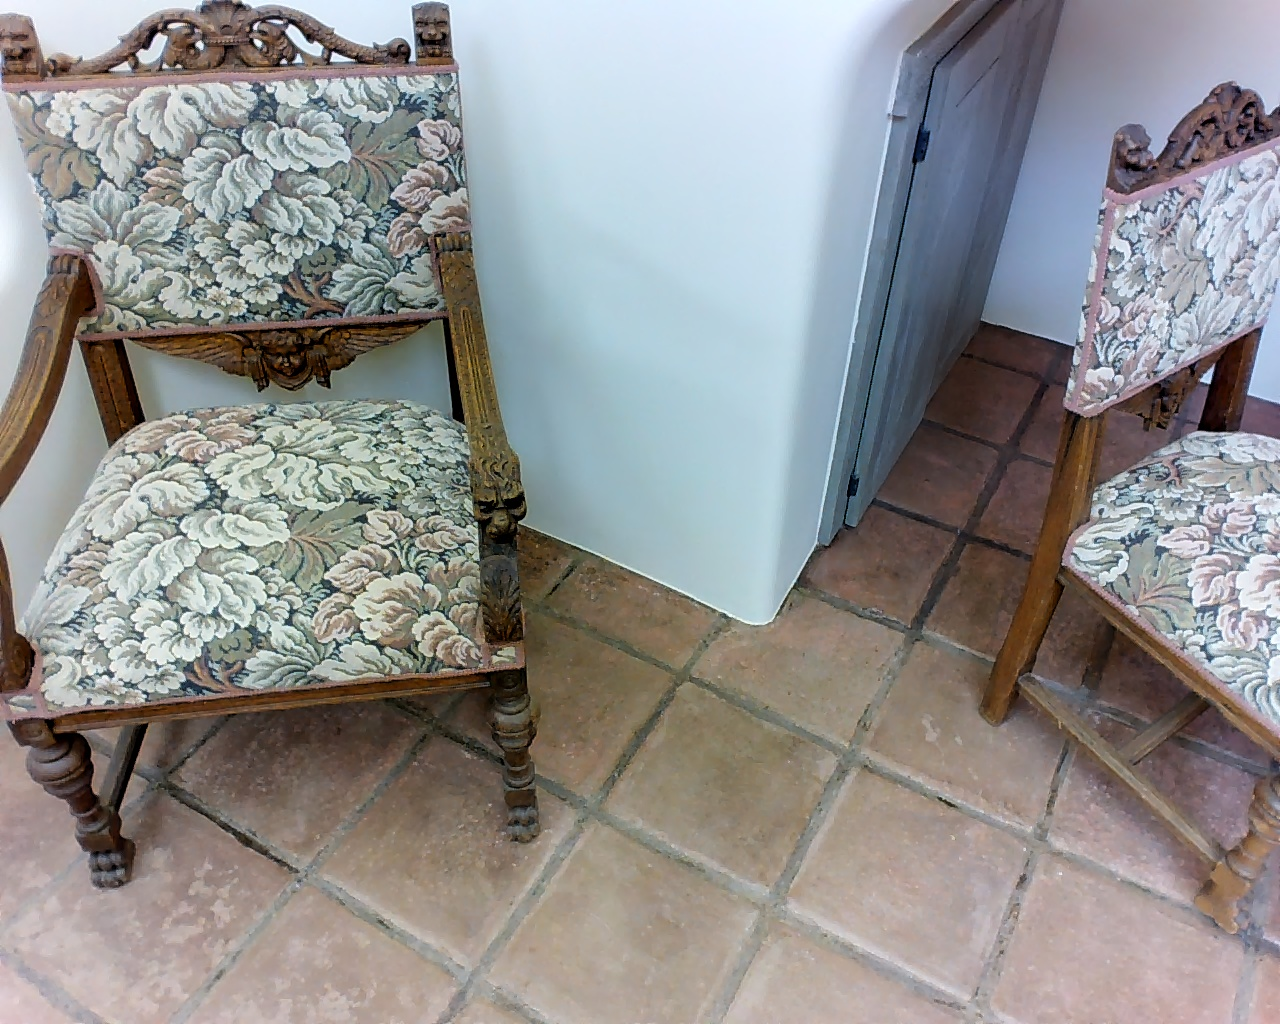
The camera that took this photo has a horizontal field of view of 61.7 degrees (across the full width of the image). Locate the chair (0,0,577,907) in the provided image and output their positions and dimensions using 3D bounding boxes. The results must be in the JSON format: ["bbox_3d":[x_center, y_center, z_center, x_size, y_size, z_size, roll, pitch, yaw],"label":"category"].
[{"bbox_3d":[-0.520,-0.100,1.520,0.730,1.000,0.770,-7,44,-8],"label":"chair"}]

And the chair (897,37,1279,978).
[{"bbox_3d":[0.880,-0.010,1.470,0.560,0.970,0.680,-25,49,-25],"label":"chair"}]
